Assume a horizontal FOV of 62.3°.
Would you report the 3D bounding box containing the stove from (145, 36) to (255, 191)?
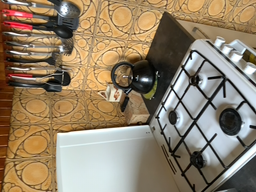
[{"bbox_3d":[0.330,0.140,0.970,0.500,0.140,0.630,-113,33,-43],"label":"stove"}]
